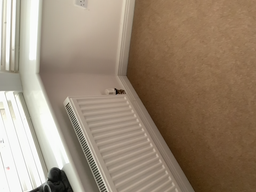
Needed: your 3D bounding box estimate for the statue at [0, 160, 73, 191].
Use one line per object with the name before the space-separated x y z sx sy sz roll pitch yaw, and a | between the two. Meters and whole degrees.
statue | -0.360 0.410 0.850 0.120 0.230 0.210 -44 65 33
